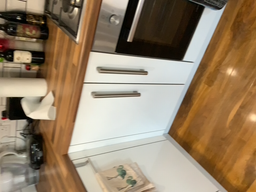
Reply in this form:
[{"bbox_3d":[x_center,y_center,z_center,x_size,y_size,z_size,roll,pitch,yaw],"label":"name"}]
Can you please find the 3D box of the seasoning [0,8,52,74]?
[{"bbox_3d":[-0.620,-0.300,1.170,0.180,0.300,0.290,43,124,43],"label":"seasoning"}]
